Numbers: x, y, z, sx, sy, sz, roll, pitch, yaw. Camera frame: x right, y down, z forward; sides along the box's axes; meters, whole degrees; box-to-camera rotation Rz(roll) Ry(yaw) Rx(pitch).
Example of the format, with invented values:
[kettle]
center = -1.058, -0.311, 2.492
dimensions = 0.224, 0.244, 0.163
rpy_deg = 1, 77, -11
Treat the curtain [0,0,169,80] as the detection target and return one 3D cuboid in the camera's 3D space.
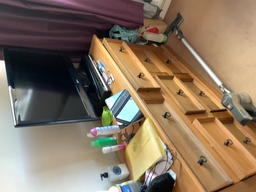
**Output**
[curtain]
center = -0.680, -0.470, 1.700
dimensions = 0.160, 2.230, 0.680
rpy_deg = 54, 134, 40
